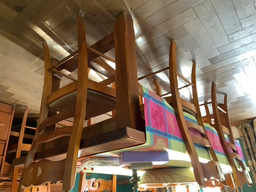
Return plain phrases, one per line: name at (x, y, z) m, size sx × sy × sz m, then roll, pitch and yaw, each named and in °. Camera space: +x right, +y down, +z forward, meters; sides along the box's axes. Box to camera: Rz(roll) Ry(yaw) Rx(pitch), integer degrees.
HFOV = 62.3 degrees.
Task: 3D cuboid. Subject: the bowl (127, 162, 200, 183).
bowl at (0.290, 0.640, 1.740) m, size 0.450 × 0.110 × 0.390 m, roll -22°, pitch 149°, yaw 34°
